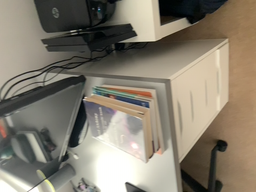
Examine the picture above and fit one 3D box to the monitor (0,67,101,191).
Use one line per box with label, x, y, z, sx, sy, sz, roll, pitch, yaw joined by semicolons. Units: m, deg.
monitor;-0.390;0.230;0.820;0.070;0.480;0.680;44;135;15
